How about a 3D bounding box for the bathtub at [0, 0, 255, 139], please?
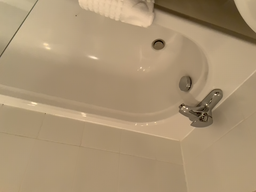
[{"bbox_3d":[-0.360,-0.370,0.990,1.650,0.570,0.710,14,138,-14],"label":"bathtub"}]
